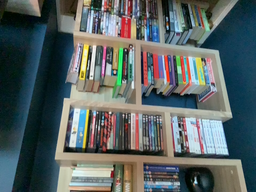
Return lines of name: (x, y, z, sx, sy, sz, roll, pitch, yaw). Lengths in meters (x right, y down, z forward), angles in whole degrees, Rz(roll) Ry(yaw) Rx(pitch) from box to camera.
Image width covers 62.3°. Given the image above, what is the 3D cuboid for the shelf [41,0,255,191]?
shelf: (0.100, 0.170, 1.190, 0.950, 1.830, 0.340, 6, 155, -11)
